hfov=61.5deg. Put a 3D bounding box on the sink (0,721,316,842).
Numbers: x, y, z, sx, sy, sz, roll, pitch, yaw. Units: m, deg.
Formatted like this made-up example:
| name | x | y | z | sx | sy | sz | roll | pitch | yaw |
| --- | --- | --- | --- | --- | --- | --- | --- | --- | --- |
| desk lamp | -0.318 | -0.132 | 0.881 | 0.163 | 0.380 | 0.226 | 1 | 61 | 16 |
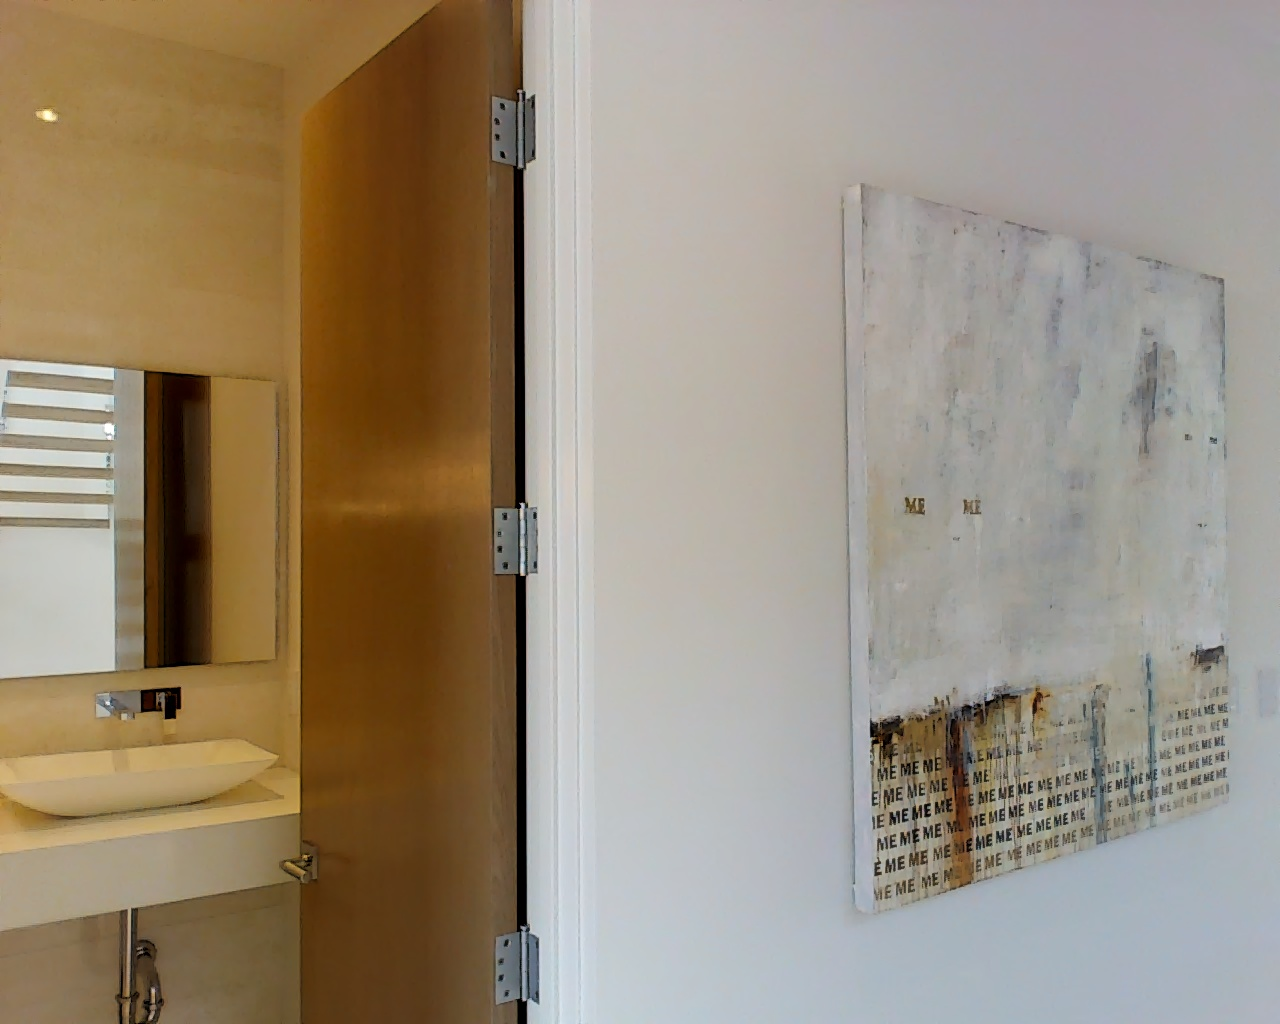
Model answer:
| name | x | y | z | sx | sy | sz | roll | pitch | yaw |
| --- | --- | --- | --- | --- | --- | --- | --- | --- | --- |
| sink | -1.189 | 0.630 | 2.590 | 0.690 | 0.130 | 0.410 | 1 | -2 | -36 |
